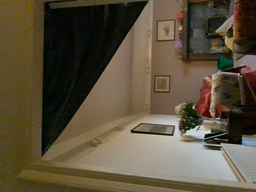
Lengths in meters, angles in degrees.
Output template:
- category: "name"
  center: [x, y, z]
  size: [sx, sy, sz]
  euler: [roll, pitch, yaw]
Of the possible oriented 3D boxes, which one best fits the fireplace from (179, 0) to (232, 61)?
- category: "fireplace"
  center: [2.000, -1.870, 5.620]
  size: [0.610, 1.220, 1.750]
  euler: [-3, -86, -76]
